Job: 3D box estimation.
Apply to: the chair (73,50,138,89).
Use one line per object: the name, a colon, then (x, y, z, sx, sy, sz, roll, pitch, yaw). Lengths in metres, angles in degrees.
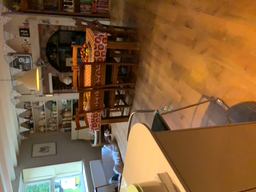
chair: (-0.420, -0.480, 3.700, 0.530, 1.010, 0.470, -122, 34, -54)

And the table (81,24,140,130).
table: (-0.430, -0.370, 4.110, 0.950, 0.780, 1.750, -123, 35, -55)

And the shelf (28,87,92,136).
shelf: (-2.020, 0.460, 6.440, 0.460, 1.710, 1.320, -123, 35, -55)
